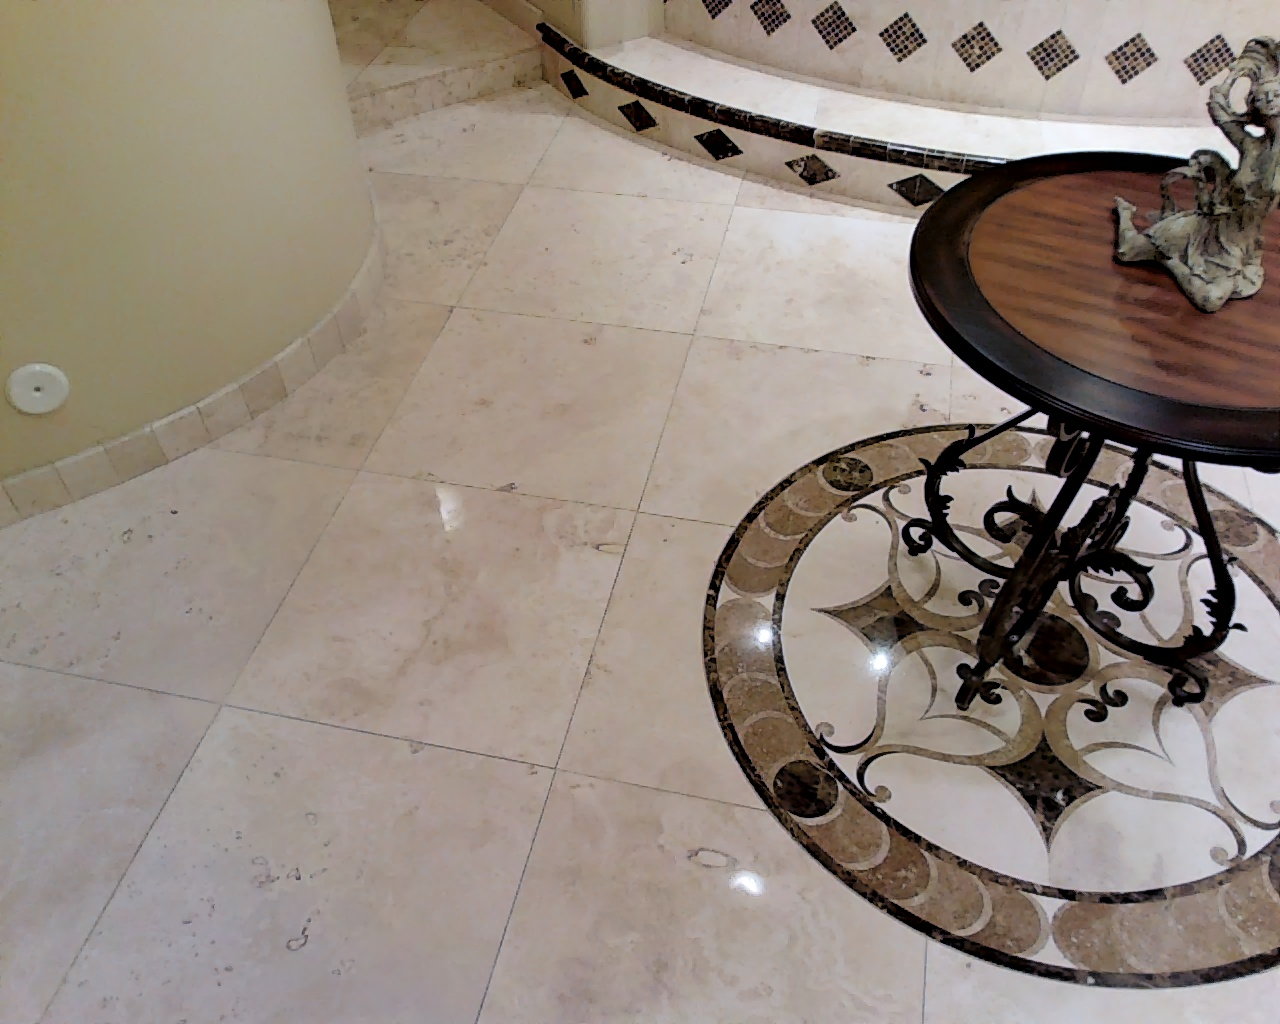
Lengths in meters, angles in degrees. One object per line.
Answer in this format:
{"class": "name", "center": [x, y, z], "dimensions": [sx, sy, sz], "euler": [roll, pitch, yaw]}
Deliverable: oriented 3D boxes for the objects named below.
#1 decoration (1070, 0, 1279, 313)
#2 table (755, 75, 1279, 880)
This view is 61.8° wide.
{"class": "decoration", "center": [0.740, -0.460, 1.350], "dimensions": [0.250, 0.280, 0.210], "euler": [26, 53, 23]}
{"class": "table", "center": [0.740, -0.090, 1.700], "dimensions": [0.750, 0.740, 0.760], "euler": [35, 56, 29]}
